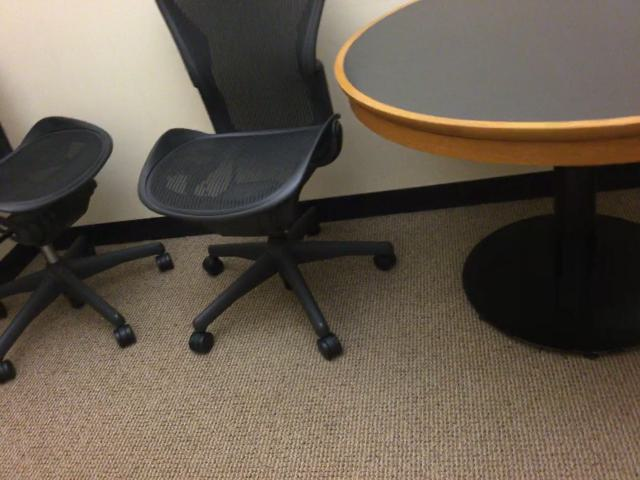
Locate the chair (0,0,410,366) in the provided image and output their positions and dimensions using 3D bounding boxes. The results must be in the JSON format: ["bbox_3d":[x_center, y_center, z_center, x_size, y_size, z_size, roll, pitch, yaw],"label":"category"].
[{"bbox_3d":[-0.180,-0.270,1.620,0.650,1.030,0.700,-4,34,18],"label":"chair"}]

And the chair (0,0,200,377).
[{"bbox_3d":[-0.990,-0.210,1.810,0.700,1.060,0.710,-6,33,15],"label":"chair"}]
